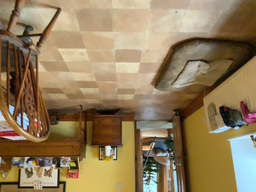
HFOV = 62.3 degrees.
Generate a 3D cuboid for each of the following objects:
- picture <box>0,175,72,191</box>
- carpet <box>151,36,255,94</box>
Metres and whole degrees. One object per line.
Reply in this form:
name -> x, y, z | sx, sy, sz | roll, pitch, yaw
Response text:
picture -> -1.630, 1.870, 3.640 | 1.260, 0.940, 0.040 | 0, 162, -4
carpet -> 0.710, -0.260, 2.270 | 0.740, 0.110, 1.140 | 0, 162, -4
